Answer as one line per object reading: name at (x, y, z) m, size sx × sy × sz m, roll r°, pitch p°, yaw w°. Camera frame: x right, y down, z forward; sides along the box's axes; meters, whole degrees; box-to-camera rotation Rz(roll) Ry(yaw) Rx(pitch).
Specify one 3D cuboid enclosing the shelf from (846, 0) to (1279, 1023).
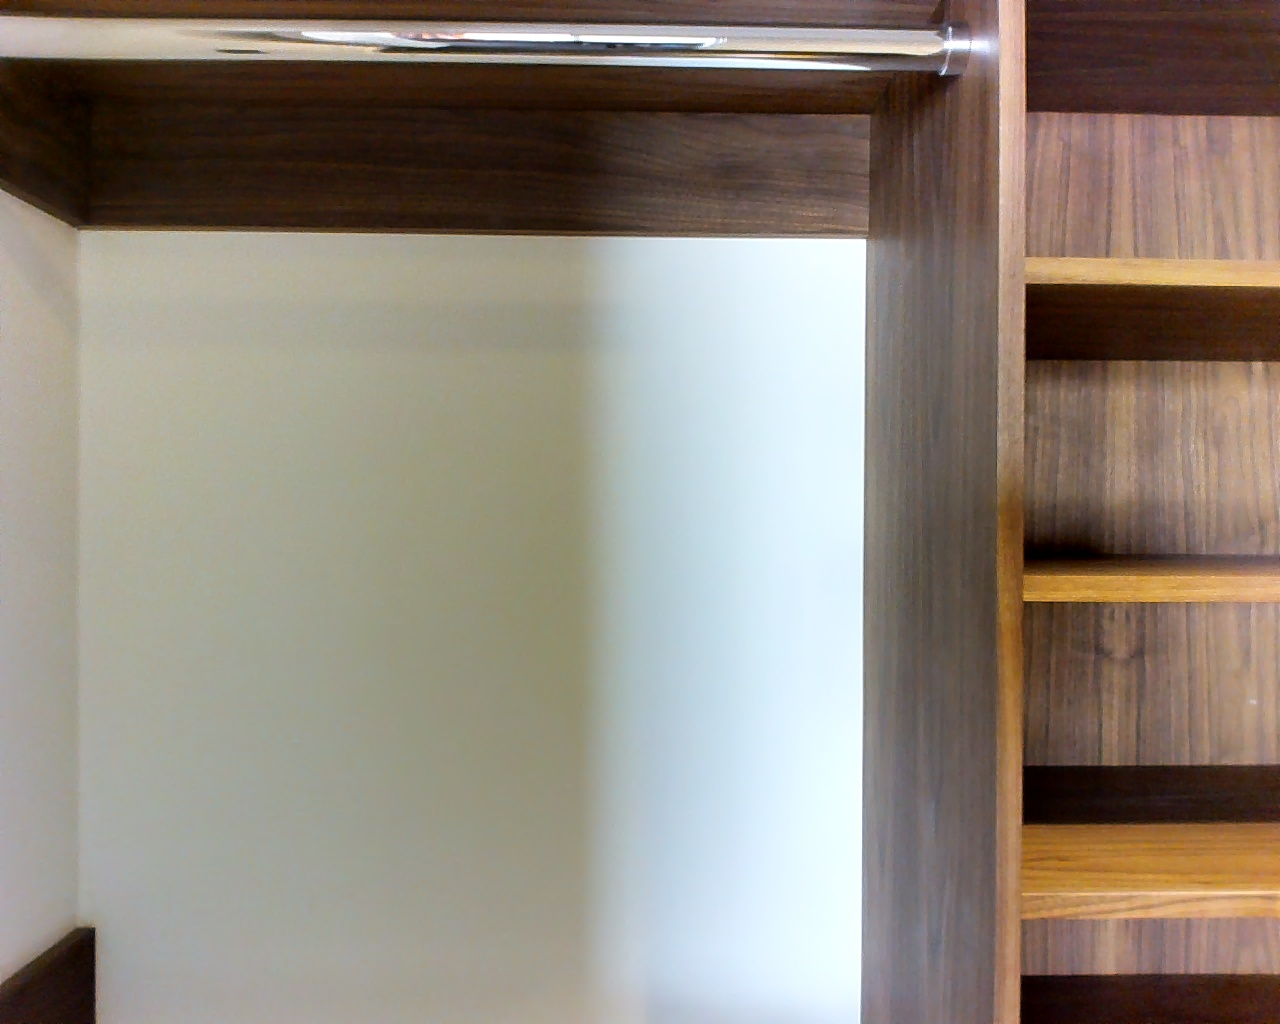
shelf at (0.510, 0.510, 0.980) m, size 0.540 × 2.030 × 0.490 m, roll 0°, pitch 0°, yaw -1°
